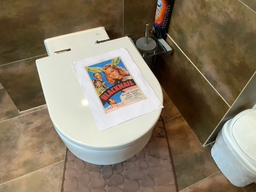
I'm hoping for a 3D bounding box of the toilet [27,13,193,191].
[{"bbox_3d":[-0.110,0.040,0.900,0.390,0.440,0.580,-18,56,-15],"label":"toilet"}]
